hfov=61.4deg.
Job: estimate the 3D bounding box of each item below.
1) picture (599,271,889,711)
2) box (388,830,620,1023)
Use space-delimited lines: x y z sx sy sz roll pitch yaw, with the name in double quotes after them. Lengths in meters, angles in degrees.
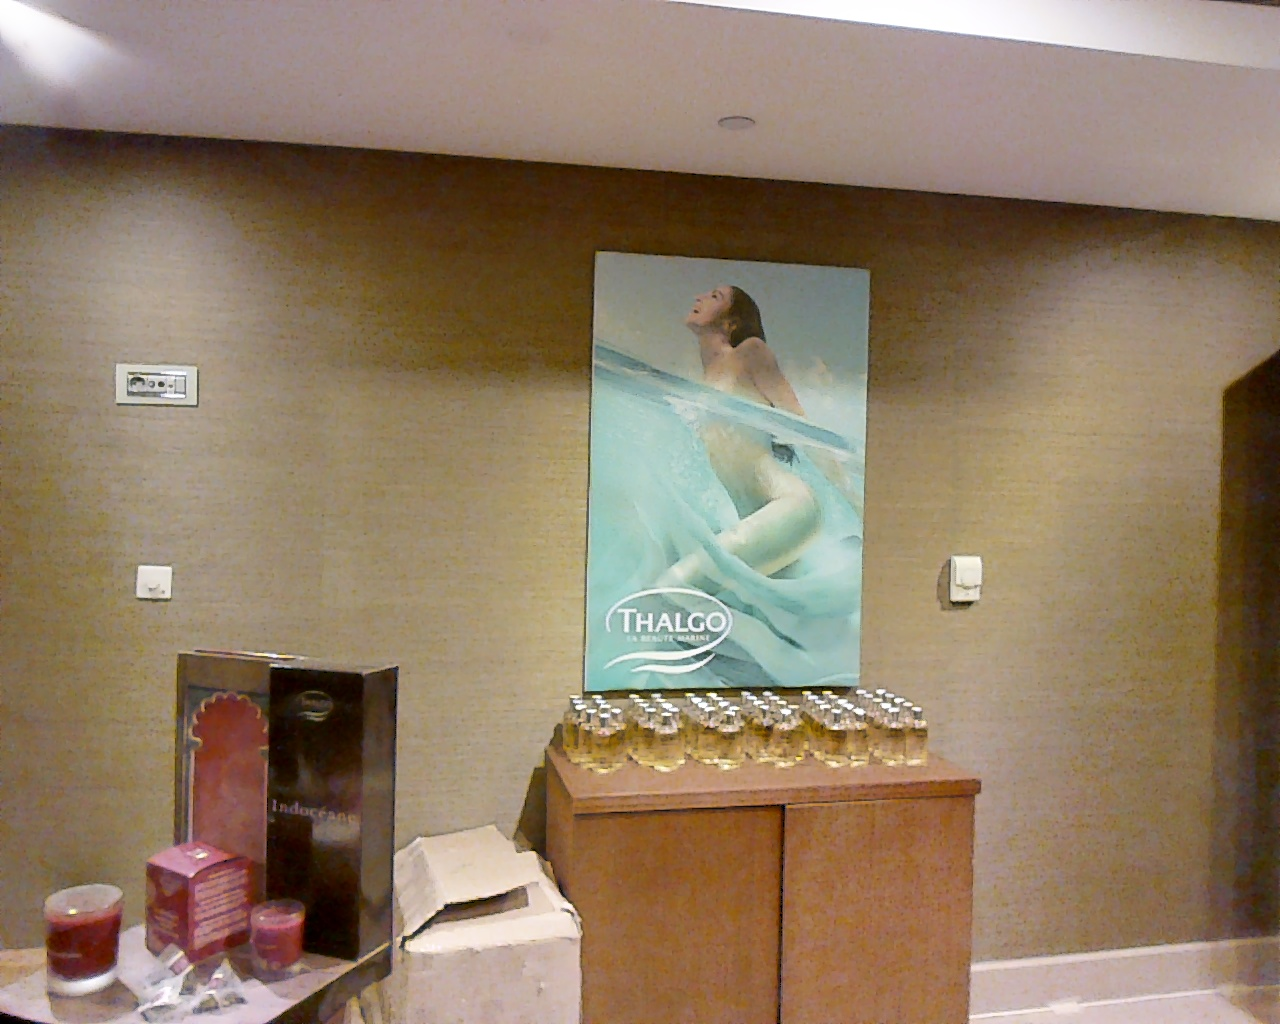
0.300 -0.050 3.040 0.810 1.200 0.060 1 1 -11 "picture"
-0.350 1.220 2.610 0.490 0.690 0.630 1 1 -11 "box"
